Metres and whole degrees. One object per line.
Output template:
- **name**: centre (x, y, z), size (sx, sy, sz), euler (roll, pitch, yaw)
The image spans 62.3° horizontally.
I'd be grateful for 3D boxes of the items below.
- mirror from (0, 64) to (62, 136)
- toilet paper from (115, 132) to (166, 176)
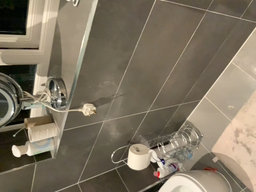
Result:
- **mirror**: centre (-0.460, 0.020, 0.800), size (0.120, 0.350, 0.240), euler (50, 132, 33)
- **toilet paper**: centre (0.080, 0.360, 1.350), size (0.160, 0.250, 0.130), euler (51, 133, 32)
